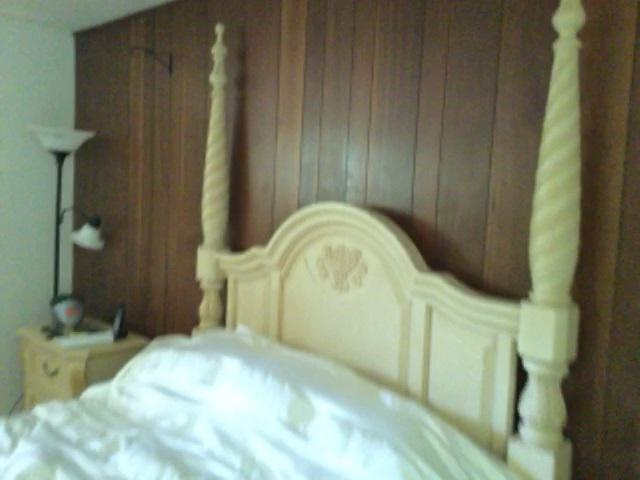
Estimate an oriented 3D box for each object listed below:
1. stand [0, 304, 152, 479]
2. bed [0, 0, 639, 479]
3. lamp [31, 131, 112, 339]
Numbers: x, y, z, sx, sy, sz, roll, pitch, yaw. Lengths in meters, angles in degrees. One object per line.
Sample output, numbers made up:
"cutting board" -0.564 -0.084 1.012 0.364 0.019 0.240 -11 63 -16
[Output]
"stand" -1.360 0.800 3.130 0.770 0.740 0.510 6 5 40
"bed" -0.700 0.240 1.340 2.050 2.260 2.330 6 5 40
"lamp" -1.490 -0.040 3.450 0.410 1.160 0.270 6 5 40
